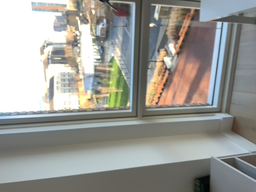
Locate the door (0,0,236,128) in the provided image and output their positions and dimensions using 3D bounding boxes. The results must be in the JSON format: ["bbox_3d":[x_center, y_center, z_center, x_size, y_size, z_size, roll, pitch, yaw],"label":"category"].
[{"bbox_3d":[-0.180,-1.270,1.500,0.120,2.340,3.040,-138,48,-69],"label":"door"}]
